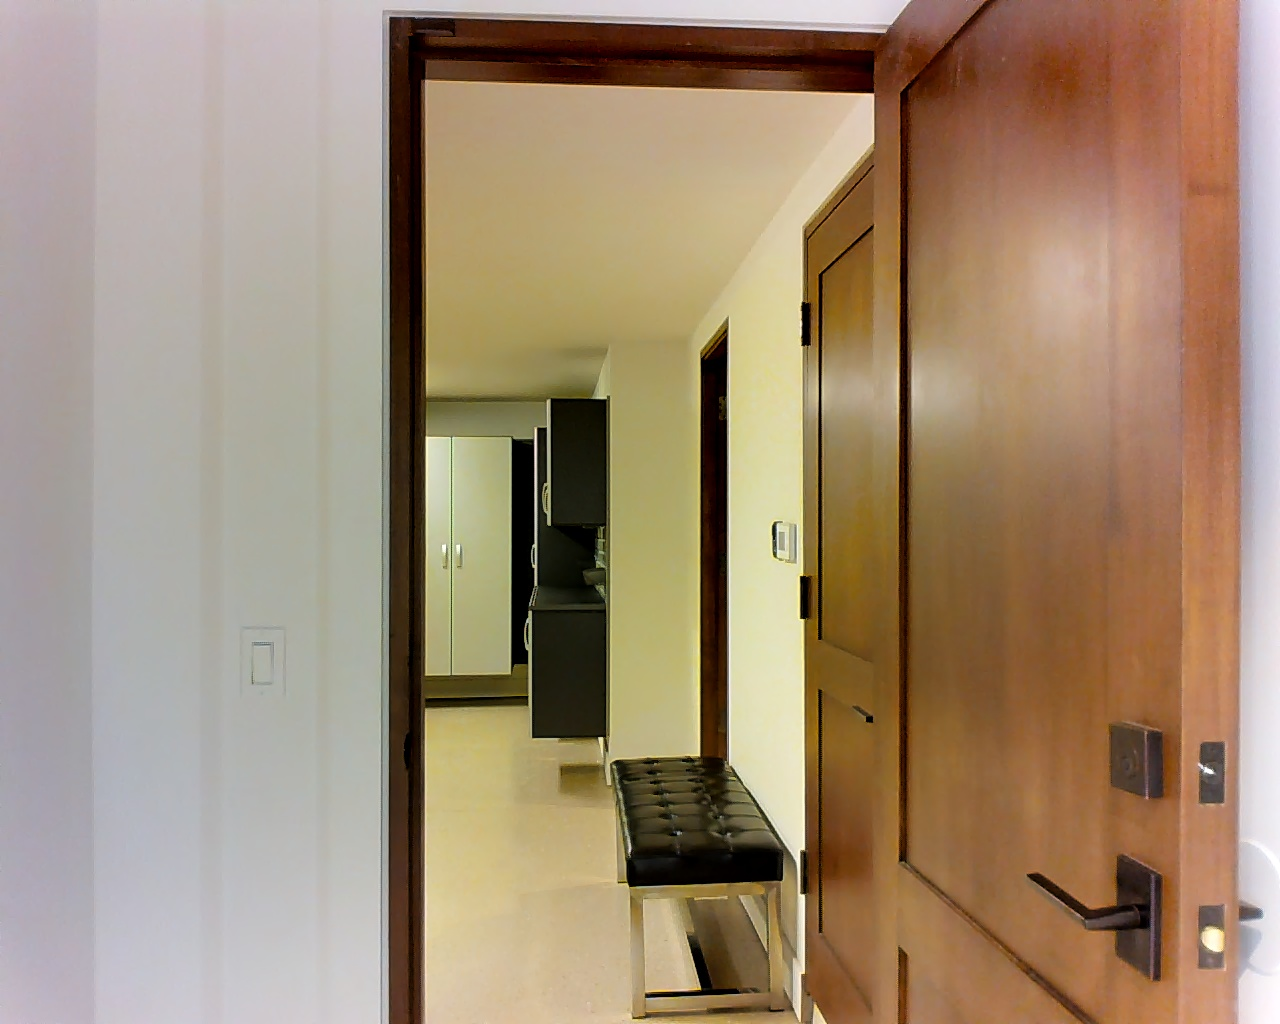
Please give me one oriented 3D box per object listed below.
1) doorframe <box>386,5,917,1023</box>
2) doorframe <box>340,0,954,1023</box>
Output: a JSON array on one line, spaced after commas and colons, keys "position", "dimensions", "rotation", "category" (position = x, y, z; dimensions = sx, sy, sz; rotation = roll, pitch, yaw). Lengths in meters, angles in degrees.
[{"position": [0.020, 0.240, 1.790], "dimensions": [0.850, 2.080, 0.140], "rotation": [0, 0, -3], "category": "doorframe"}, {"position": [0.010, 0.230, 1.850], "dimensions": [0.970, 2.170, 0.310], "rotation": [0, 0, -3], "category": "doorframe"}]
